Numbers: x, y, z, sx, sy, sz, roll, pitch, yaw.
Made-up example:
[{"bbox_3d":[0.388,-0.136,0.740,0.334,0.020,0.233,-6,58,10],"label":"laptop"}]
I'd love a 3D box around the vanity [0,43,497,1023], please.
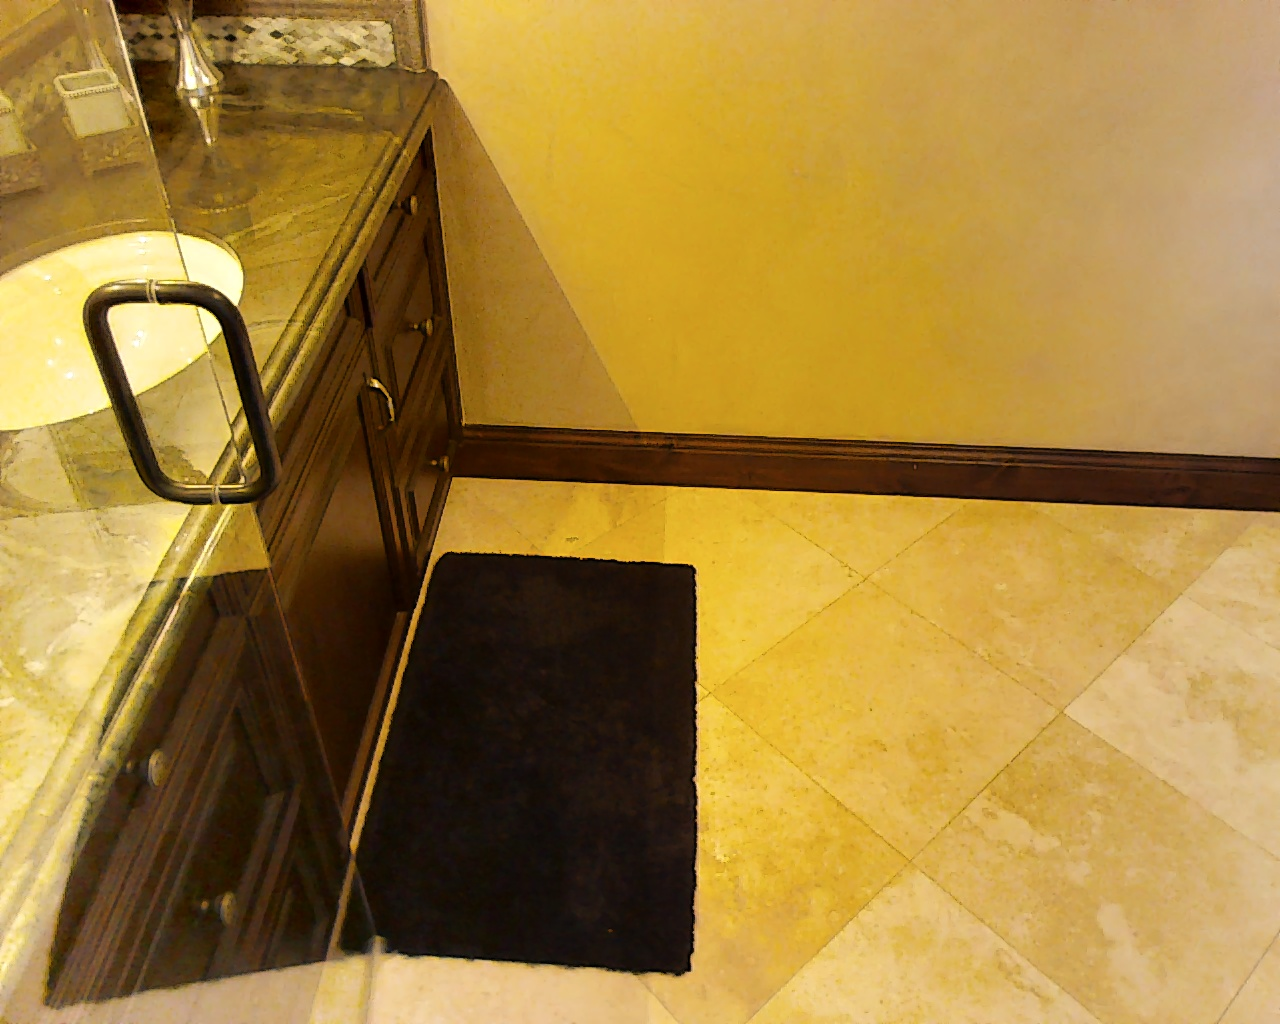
[{"bbox_3d":[-0.630,0.090,1.530,0.550,0.970,1.620,3,40,1],"label":"vanity"}]

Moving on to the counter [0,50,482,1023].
[{"bbox_3d":[-0.630,-0.230,1.250,0.630,0.060,1.640,3,41,1],"label":"counter"}]
